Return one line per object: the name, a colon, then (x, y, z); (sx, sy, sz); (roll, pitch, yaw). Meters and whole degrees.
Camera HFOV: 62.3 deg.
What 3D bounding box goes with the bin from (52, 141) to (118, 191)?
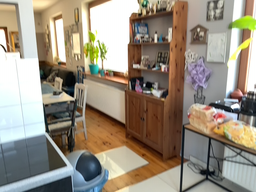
bin: (-0.330, 0.770, 1.700); (0.410, 0.660, 0.280); (-10, 17, -33)
